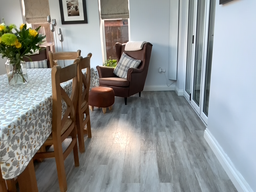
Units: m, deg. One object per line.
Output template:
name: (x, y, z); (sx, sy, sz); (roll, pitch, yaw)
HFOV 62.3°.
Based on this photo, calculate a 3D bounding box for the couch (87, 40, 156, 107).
couch: (-0.080, -0.480, 3.870); (0.800, 0.990, 0.960); (10, 20, 35)
